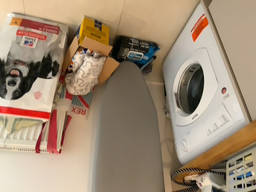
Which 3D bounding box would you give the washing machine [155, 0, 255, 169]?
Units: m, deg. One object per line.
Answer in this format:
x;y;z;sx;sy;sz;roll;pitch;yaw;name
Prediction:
0.600;-0.060;1.330;0.600;0.830;0.620;7;145;-12;washing machine
